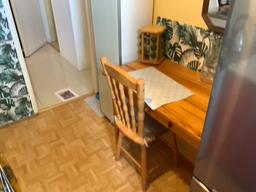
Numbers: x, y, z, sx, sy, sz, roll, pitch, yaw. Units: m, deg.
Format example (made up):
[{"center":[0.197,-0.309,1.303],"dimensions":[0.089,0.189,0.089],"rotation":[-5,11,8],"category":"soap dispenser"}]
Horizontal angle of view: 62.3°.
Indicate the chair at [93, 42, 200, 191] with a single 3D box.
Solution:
[{"center":[0.100,0.170,1.480],"dimensions":[0.460,0.920,0.420],"rotation":[-21,38,-31],"category":"chair"}]
